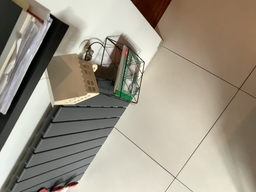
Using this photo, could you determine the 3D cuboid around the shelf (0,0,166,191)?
[{"bbox_3d":[-0.430,0.170,0.560,0.190,1.970,0.830,36,100,21],"label":"shelf"}]
